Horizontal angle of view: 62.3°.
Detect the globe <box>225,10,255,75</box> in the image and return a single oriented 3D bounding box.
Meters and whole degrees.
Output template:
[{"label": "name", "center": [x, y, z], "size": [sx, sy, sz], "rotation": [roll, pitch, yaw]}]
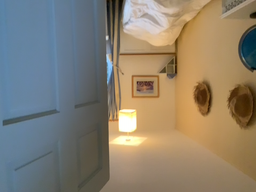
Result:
[{"label": "globe", "center": [0.950, -0.350, 1.480], "size": [0.340, 0.400, 0.380], "rotation": [-2, -175, -6]}]
